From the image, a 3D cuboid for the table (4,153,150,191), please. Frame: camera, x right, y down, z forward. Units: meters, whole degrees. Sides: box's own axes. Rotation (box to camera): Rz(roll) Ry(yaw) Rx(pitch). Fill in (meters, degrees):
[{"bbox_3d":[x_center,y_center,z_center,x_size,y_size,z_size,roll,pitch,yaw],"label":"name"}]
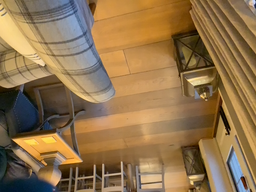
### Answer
[{"bbox_3d":[-0.840,1.730,3.770,2.350,0.780,0.990,-10,140,9],"label":"table"}]
